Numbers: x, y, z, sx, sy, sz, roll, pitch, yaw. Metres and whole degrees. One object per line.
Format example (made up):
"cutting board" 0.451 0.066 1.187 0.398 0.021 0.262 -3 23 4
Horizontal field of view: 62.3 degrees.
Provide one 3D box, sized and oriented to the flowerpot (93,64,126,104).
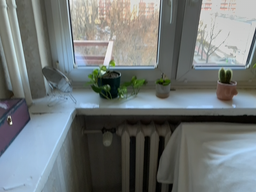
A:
"flowerpot" -0.100 -0.070 1.140 0.160 0.150 0.180 -3 24 -8
